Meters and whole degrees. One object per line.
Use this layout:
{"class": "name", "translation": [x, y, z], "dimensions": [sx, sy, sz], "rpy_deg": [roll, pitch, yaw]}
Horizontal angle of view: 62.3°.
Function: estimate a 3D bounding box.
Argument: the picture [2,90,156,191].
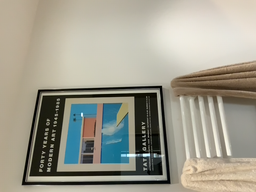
{"class": "picture", "translation": [-0.200, 0.190, 0.950], "dimensions": [0.030, 0.620, 0.450], "rpy_deg": [84, -174, -65]}
